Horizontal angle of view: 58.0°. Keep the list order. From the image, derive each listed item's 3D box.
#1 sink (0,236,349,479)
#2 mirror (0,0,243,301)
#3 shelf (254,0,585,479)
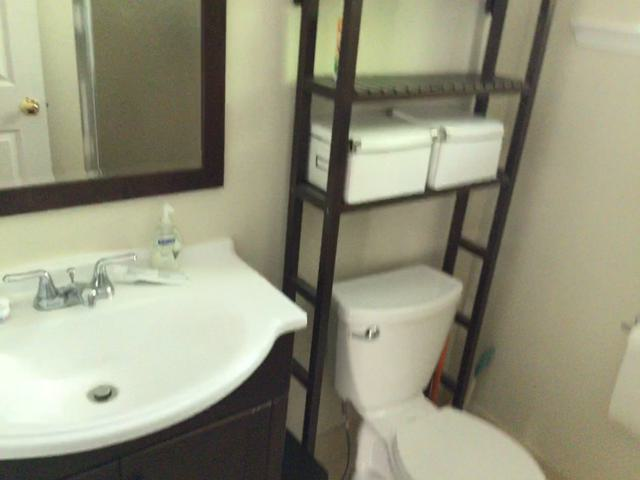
[{"bbox_3d":[-0.390,0.220,1.070,0.770,0.180,0.440,-13,29,-35],"label":"sink"},{"bbox_3d":[-0.500,-0.390,1.000,0.770,1.010,0.110,-13,29,-35],"label":"mirror"},{"bbox_3d":[0.250,-0.040,1.640,0.780,1.800,0.290,-13,29,-35],"label":"shelf"}]
